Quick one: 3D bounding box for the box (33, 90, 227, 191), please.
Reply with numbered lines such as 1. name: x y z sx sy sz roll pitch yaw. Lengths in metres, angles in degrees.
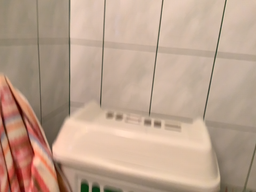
1. box: 0.000 0.280 0.710 0.430 0.470 0.380 7 17 7
